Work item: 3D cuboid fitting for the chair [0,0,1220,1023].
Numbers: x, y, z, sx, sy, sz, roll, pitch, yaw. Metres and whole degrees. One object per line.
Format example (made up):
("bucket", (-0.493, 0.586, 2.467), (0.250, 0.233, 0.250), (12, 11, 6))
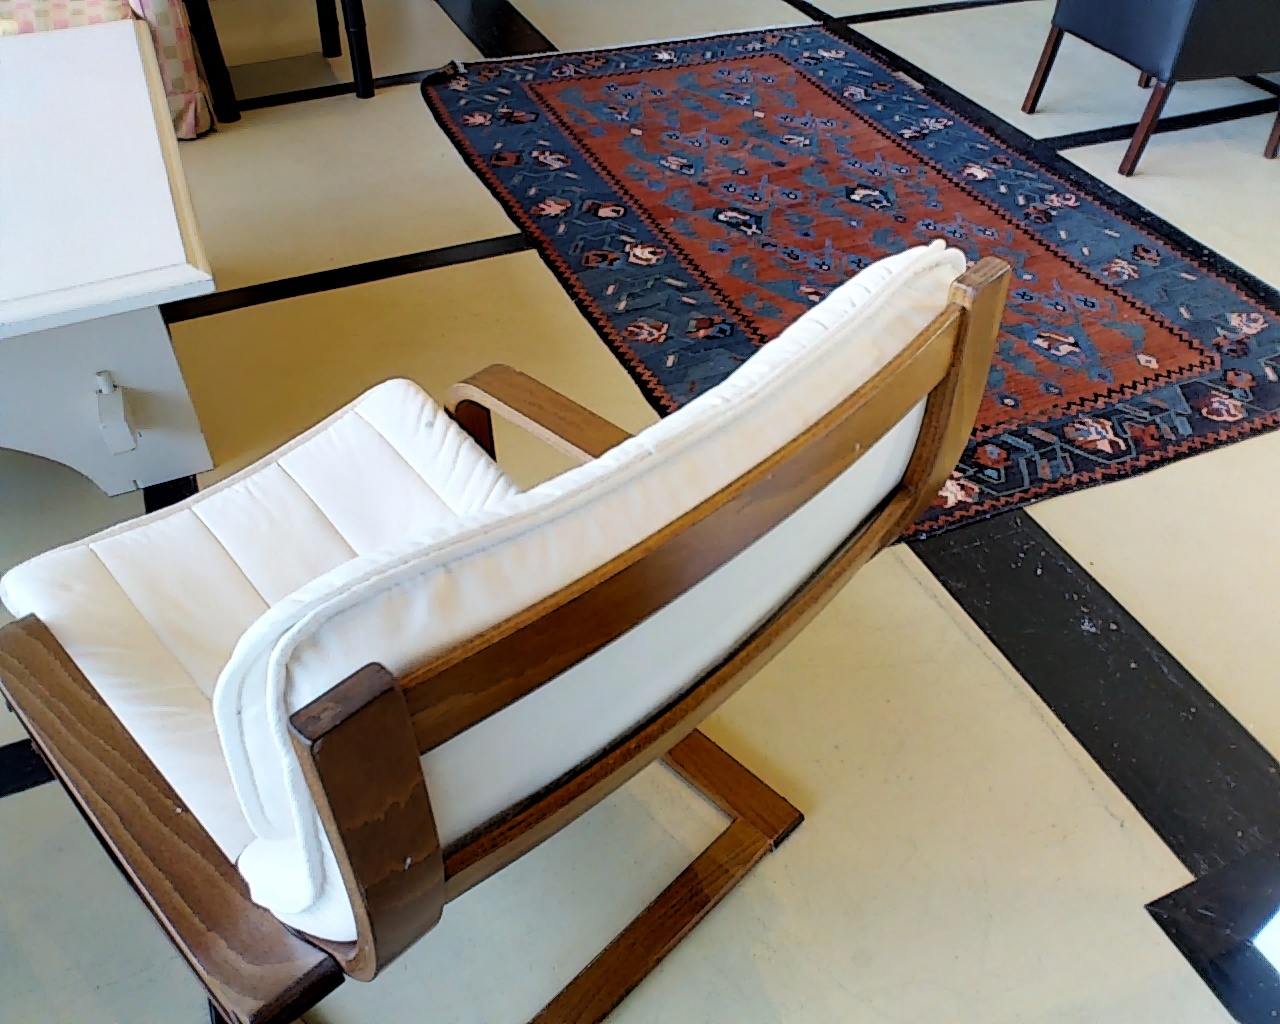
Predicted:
("chair", (-0.220, 0.120, 1.090), (0.950, 0.950, 0.840), (31, 50, 30))
